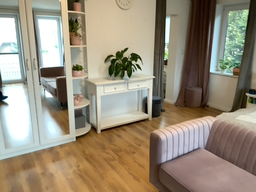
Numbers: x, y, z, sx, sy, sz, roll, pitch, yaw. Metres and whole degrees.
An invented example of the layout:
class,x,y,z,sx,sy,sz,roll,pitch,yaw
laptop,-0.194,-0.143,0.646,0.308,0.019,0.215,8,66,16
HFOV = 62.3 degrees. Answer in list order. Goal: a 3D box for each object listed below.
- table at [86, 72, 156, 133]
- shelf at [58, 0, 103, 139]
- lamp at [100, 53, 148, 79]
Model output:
class,x,y,z,sx,sy,sz,roll,pitch,yaw
table,-0.100,0.070,3.940,1.230,0.880,0.400,-9,18,-31
shelf,-0.750,-0.590,3.380,0.440,2.430,0.610,-9,18,-31
lamp,-0.070,-0.550,3.780,0.740,0.360,0.420,-10,19,-34
